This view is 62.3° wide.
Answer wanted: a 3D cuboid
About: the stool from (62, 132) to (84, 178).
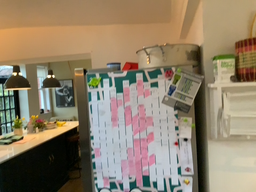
[{"bbox_3d":[-1.060,1.120,4.110,0.230,0.760,0.400,-3,4,8],"label":"stool"}]
